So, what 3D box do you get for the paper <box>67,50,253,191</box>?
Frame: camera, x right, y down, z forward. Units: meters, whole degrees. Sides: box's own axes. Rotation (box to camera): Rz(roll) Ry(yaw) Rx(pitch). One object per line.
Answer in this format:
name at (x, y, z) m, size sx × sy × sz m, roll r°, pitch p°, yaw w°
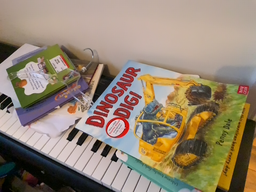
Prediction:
paper at (0.070, 0.020, 0.440) m, size 0.310 × 0.040 × 0.220 m, roll 20°, pitch 52°, yaw 20°
